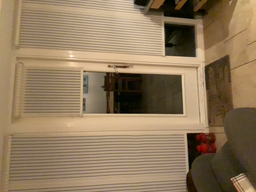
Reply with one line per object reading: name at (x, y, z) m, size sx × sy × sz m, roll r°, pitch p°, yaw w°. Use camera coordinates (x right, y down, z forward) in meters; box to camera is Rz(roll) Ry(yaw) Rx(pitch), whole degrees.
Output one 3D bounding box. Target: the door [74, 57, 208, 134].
door at (0.190, 0.010, 2.540) m, size 0.060 × 1.600 × 0.870 m, roll 138°, pitch 133°, yaw -73°
